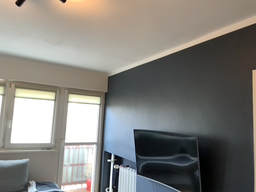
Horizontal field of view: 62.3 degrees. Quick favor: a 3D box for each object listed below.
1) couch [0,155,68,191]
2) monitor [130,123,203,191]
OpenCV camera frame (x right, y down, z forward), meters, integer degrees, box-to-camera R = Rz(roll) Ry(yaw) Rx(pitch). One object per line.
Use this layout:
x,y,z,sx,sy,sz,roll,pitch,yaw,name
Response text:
-1.580,1.370,3.040,1.100,0.840,0.920,7,-7,-31,couch
0.380,0.740,2.520,0.080,0.640,1.110,6,0,-31,monitor
